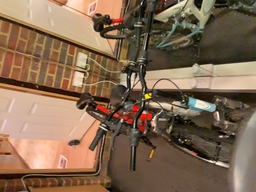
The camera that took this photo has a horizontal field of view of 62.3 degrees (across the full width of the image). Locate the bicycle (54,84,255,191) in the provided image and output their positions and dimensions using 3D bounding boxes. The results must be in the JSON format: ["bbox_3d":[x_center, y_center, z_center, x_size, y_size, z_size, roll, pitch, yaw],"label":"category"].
[{"bbox_3d":[0.160,0.200,1.540,1.750,0.740,0.420,4,83,53],"label":"bicycle"}]
